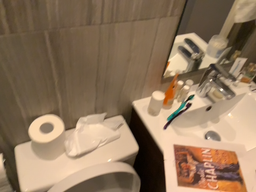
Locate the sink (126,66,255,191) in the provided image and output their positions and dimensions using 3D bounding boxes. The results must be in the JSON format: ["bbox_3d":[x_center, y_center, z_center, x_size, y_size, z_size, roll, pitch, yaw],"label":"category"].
[{"bbox_3d":[0.380,0.120,0.880,0.650,0.150,0.410,-16,51,-24],"label":"sink"}]
